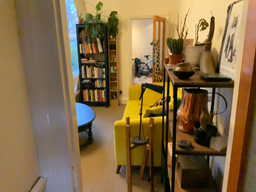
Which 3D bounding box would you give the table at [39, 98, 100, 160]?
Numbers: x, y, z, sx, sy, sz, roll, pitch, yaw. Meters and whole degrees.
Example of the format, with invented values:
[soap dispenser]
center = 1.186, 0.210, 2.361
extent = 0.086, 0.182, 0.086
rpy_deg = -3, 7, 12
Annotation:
[table]
center = -0.980, 0.440, 3.440
extent = 0.780, 0.440, 1.220
rpy_deg = -6, 17, -19
